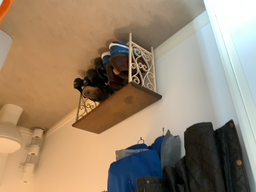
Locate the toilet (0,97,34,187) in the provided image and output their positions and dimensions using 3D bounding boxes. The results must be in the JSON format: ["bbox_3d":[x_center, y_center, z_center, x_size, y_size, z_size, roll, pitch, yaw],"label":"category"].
[{"bbox_3d":[-1.410,0.520,2.270,0.390,0.770,0.670,24,141,-34],"label":"toilet"}]

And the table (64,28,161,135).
[{"bbox_3d":[-0.150,-0.060,1.620,0.270,0.460,0.770,24,141,-34],"label":"table"}]
